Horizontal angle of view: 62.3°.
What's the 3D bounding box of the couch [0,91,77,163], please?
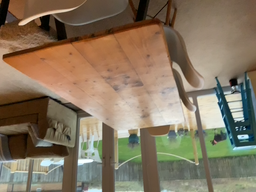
[{"bbox_3d":[-1.940,0.640,3.820,1.740,0.900,0.920,-10,158,15],"label":"couch"}]
